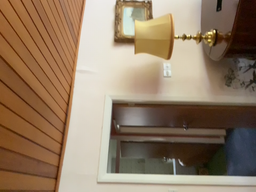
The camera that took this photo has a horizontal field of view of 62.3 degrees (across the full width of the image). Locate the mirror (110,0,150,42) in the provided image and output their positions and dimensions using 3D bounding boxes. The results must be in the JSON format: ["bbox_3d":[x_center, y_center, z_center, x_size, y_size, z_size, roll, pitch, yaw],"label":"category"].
[{"bbox_3d":[0.030,-0.970,2.670,0.060,0.470,0.650,90,-179,-65],"label":"mirror"}]

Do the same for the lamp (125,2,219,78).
[{"bbox_3d":[0.380,-0.540,2.160,0.580,0.800,0.480,90,-178,-66],"label":"lamp"}]
